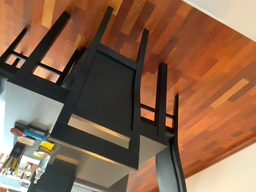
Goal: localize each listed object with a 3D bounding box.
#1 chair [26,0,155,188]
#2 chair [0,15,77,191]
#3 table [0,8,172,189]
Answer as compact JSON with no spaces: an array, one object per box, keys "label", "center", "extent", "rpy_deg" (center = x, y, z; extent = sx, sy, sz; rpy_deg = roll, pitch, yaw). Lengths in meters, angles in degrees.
[{"label":"chair","center":[-0.160,-0.080,1.260],"extent":[0.410,0.990,0.480],"rpy_deg":[22,137,-13]},{"label":"chair","center":[-0.810,0.000,1.430],"extent":[0.540,1.060,0.400],"rpy_deg":[23,136,-14]},{"label":"table","center":[-0.320,0.100,1.670],"extent":[0.940,0.740,0.960],"rpy_deg":[21,137,-11]}]
